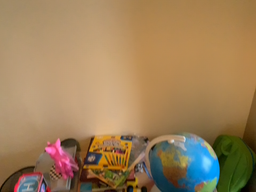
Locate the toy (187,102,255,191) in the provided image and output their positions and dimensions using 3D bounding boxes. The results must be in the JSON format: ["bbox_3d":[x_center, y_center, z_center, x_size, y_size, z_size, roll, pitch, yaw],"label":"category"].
[{"bbox_3d":[0.540,0.440,1.250,0.240,0.630,0.480,-3,33,3],"label":"toy"}]
